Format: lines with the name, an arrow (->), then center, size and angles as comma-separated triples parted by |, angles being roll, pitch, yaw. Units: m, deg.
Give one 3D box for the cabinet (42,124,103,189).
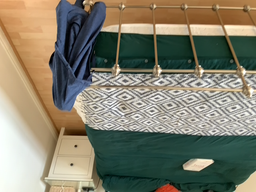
cabinet -> -0.640, 0.750, 2.650 | 0.550, 0.660, 0.420 | 1, 142, 1
